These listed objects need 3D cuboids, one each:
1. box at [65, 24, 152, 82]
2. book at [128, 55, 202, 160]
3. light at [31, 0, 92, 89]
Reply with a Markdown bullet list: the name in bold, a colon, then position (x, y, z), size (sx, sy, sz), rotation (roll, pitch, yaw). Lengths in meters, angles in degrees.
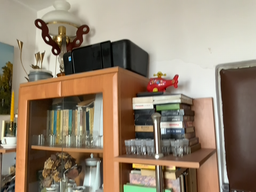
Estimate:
- **box**: position (-0.100, -0.210, 1.180), size (0.370, 0.180, 0.300), rotation (-4, -8, 31)
- **book**: position (0.180, 0.060, 0.960), size (0.220, 0.380, 0.330), rotation (-4, -8, 29)
- **light**: position (-0.430, -0.310, 1.400), size (0.290, 0.480, 0.230), rotation (-4, -8, 27)
